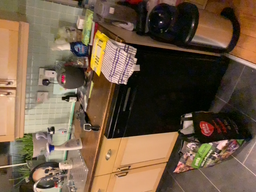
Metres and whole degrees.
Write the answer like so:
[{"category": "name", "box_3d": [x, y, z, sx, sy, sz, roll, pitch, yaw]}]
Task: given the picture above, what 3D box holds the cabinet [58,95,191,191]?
[{"category": "cabinet", "box_3d": [-0.160, 0.840, 2.170, 0.610, 0.880, 1.590, 47, 129, 50]}]
